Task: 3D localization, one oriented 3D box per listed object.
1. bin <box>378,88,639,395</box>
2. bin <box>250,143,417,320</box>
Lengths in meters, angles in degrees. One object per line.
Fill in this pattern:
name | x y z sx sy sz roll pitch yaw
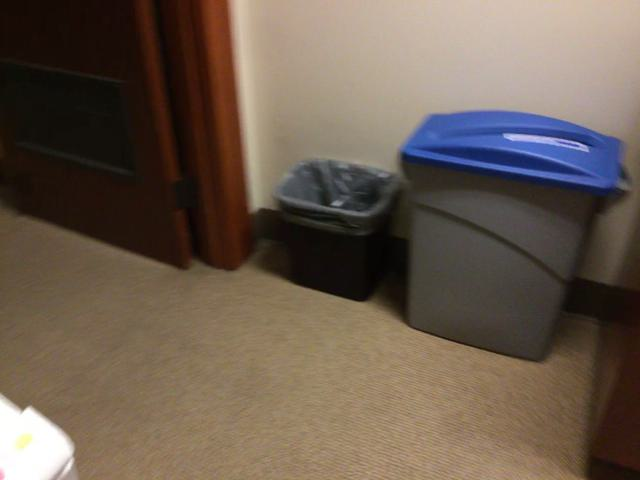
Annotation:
bin | 0.510 -0.010 1.650 0.570 0.680 0.360 14 36 22
bin | 0.050 -0.040 1.930 0.450 0.420 0.280 14 36 22
